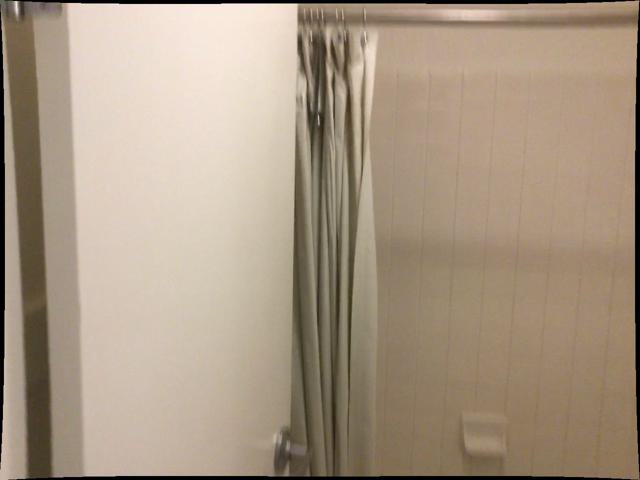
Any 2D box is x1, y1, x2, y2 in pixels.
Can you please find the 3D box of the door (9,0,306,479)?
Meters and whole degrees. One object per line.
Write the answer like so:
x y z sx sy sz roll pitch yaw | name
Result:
-0.160 0.431 0.940 0.060 1.963 0.740 3 9 13 | door
